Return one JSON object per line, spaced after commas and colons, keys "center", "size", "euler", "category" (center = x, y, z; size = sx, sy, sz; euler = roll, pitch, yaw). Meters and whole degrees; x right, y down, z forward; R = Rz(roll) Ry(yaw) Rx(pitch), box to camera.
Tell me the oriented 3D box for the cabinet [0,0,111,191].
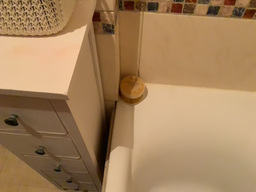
{"center": [-0.240, 0.140, 0.800], "size": [0.270, 1.000, 0.250], "euler": [4, 57, 2], "category": "cabinet"}
